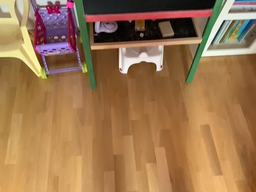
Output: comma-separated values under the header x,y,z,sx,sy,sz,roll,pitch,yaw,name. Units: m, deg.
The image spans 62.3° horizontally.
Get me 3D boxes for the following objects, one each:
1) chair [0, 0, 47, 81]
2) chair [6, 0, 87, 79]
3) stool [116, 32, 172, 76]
x,y,z,sx,sy,sz,roll,pitch,yaw,name
-0.760,-0.390,1.240,0.380,0.560,0.350,-4,63,-5,chair
-0.430,-0.410,1.280,0.290,0.560,0.350,-4,63,-5,chair
0.090,-0.280,1.420,0.330,0.200,0.190,-5,63,-6,stool
